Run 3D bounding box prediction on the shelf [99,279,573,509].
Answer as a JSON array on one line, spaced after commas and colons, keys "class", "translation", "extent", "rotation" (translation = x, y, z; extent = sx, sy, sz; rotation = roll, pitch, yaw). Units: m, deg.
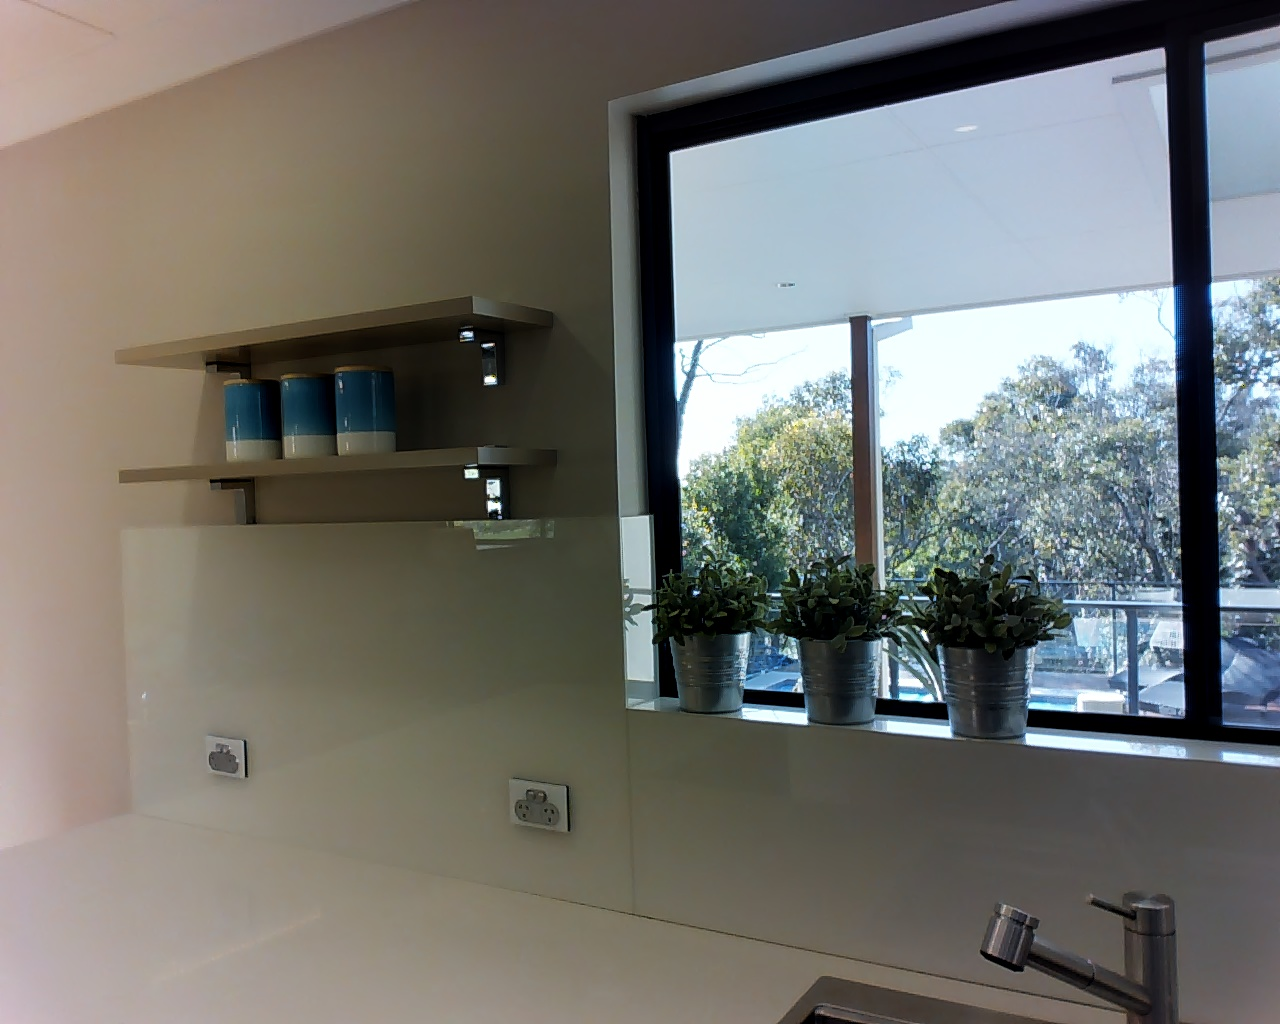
[{"class": "shelf", "translation": [-0.550, -0.170, 1.840], "extent": [0.880, 0.310, 0.230], "rotation": [-1, 0, 30]}]
